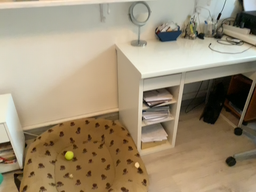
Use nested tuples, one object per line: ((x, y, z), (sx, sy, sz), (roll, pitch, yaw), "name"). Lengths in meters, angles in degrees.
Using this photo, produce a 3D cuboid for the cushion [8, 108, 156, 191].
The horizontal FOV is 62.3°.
((-0.350, 0.510, 1.570), (0.880, 0.160, 1.050), (-7, 33, -12), "cushion")
